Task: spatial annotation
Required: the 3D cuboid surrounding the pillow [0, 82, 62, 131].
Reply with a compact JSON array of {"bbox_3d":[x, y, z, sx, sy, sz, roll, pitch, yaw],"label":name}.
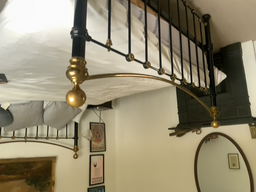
[{"bbox_3d":[-1.140,0.150,2.520,0.480,0.480,0.180,32,-155,-45],"label":"pillow"}]
